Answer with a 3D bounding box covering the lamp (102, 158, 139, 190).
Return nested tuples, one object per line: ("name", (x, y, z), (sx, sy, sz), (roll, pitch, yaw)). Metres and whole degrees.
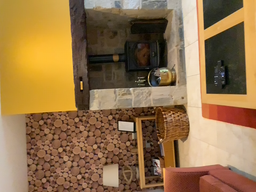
("lamp", (-0.160, 1.390, 3.840), (0.440, 0.610, 0.370), (171, 96, -82))
